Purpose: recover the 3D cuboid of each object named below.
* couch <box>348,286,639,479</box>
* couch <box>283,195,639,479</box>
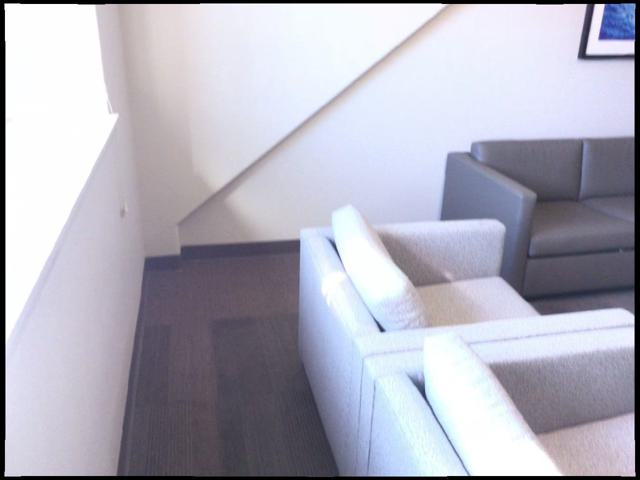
[{"bbox_3d":[0.639,0.651,1.260,0.908,0.701,0.930,-3,24,-13],"label":"couch"},{"bbox_3d":[0.409,0.321,2.030,0.938,0.691,0.860,-2,24,-12],"label":"couch"}]
